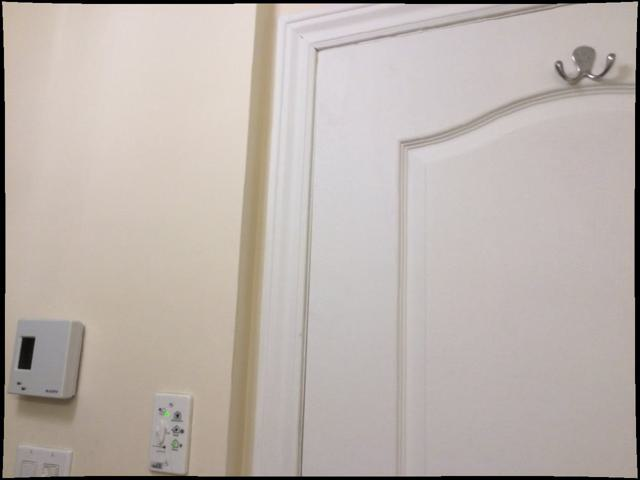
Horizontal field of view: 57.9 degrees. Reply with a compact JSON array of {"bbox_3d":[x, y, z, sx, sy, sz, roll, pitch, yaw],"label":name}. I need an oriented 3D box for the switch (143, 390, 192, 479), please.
[{"bbox_3d":[-0.230,0.290,0.870,0.070,0.120,0.010,-2,-12,25],"label":"switch"}]

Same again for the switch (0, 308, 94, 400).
[{"bbox_3d":[-0.470,0.190,0.980,0.160,0.140,0.050,-2,-12,25],"label":"switch"}]
